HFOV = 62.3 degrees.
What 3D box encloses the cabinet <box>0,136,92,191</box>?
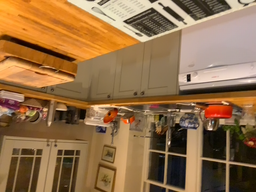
[{"bbox_3d":[-1.020,1.020,2.540,1.050,0.970,0.330,15,167,-42],"label":"cabinet"}]
